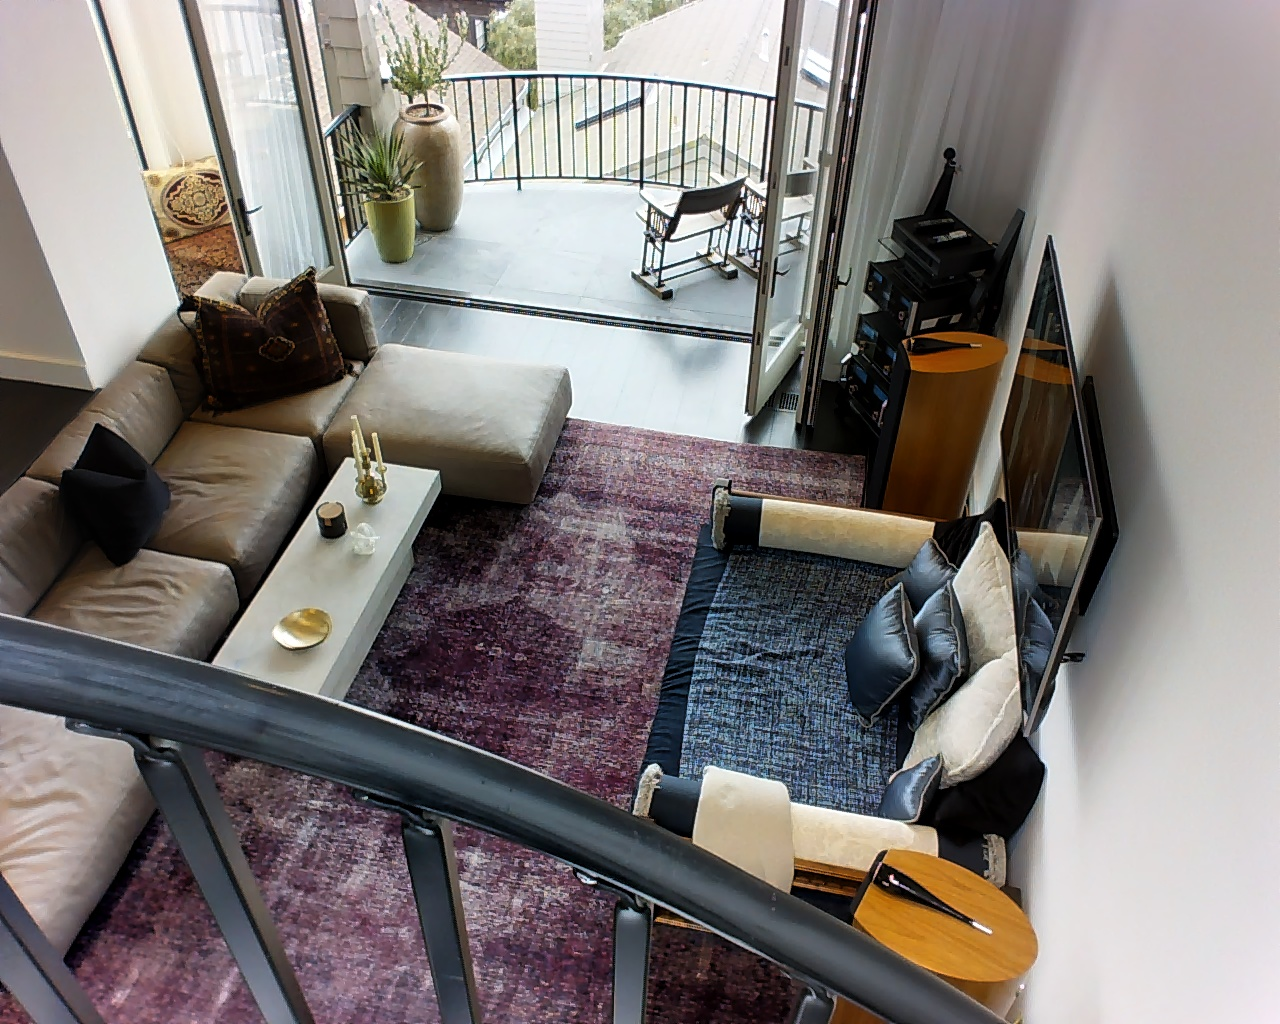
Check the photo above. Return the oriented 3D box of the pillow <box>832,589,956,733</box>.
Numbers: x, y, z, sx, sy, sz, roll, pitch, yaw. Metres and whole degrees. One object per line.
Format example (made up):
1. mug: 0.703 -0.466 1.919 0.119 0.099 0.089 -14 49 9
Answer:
1. pillow: 0.940 0.550 4.040 0.240 0.380 0.470 4 13 -10
